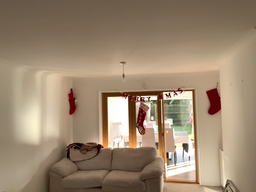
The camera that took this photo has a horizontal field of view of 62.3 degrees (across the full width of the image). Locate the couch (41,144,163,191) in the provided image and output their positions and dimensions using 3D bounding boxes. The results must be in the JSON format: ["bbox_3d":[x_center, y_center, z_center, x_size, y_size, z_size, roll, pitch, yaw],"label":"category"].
[{"bbox_3d":[-0.420,1.470,4.160,2.150,0.820,1.030,-1,-2,10],"label":"couch"}]

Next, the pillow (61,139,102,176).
[{"bbox_3d":[-0.960,1.270,4.390,0.710,0.480,0.150,21,2,6],"label":"pillow"}]

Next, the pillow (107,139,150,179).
[{"bbox_3d":[0.010,1.240,4.240,0.700,0.490,0.170,23,3,17],"label":"pillow"}]
